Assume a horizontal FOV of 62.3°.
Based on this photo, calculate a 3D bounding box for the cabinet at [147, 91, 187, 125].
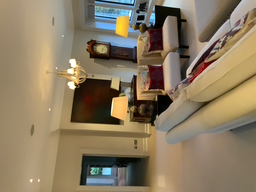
[{"bbox_3d":[0.740,0.250,4.160,0.550,0.610,0.510,115,157,-69],"label":"cabinet"}]

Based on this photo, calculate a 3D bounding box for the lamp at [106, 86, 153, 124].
[{"bbox_3d":[0.010,0.190,4.210,0.550,0.840,0.550,112,160,-66],"label":"lamp"}]

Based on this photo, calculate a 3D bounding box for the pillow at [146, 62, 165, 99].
[{"bbox_3d":[0.540,-0.300,4.230,0.370,0.320,0.620,79,-171,-75],"label":"pillow"}]

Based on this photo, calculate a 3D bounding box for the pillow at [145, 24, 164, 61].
[{"bbox_3d":[0.570,-1.130,4.500,0.340,0.310,0.620,56,-151,-67],"label":"pillow"}]
